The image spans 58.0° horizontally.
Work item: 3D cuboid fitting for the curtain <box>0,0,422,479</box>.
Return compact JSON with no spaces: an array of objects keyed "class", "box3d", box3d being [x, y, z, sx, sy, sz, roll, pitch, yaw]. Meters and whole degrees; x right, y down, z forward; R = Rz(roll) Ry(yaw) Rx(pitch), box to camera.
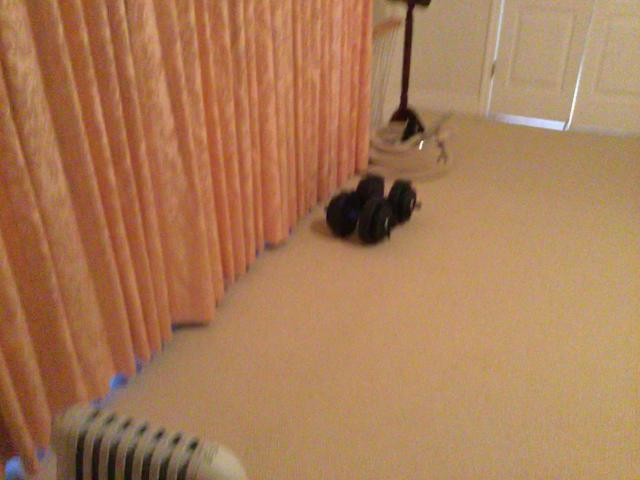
[{"class":"curtain","box3d":[-0.480,-0.650,1.520,0.430,2.250,3.270,8,31,26]}]
